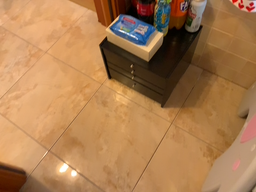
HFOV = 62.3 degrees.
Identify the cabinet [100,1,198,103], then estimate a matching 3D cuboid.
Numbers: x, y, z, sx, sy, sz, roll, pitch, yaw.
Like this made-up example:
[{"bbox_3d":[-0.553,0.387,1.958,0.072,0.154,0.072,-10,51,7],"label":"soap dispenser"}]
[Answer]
[{"bbox_3d":[0.110,-0.230,1.140,0.350,0.300,0.320,29,69,17],"label":"cabinet"}]
